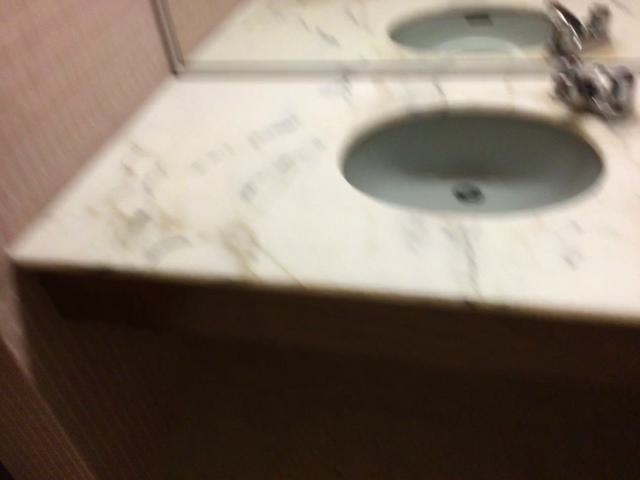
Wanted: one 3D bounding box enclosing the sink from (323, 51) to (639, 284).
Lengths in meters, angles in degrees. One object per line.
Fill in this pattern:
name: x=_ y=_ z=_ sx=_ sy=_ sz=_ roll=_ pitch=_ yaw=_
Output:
sink: x=0.280 y=-0.140 z=0.990 sx=0.470 sy=0.240 sz=0.320 roll=3 pitch=40 yaw=14
